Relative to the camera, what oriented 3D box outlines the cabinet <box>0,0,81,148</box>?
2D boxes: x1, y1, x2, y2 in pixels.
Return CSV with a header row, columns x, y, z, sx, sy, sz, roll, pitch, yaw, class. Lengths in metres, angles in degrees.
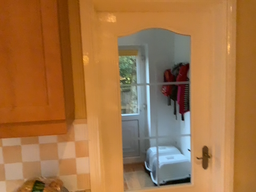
x,y,z,sx,sy,sz,roll,pitch,yaw,class
-0.480,-0.260,0.990,0.440,0.900,0.360,-3,7,-9,cabinet
